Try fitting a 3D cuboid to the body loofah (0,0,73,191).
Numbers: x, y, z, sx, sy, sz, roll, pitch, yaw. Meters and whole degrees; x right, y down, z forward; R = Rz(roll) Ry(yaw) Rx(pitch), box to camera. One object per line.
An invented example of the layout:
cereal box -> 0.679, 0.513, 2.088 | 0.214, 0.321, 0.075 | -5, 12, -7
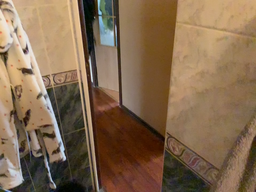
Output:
body loofah -> -0.570, -0.010, 1.040 | 0.380, 1.190, 0.190 | -20, 35, -31
